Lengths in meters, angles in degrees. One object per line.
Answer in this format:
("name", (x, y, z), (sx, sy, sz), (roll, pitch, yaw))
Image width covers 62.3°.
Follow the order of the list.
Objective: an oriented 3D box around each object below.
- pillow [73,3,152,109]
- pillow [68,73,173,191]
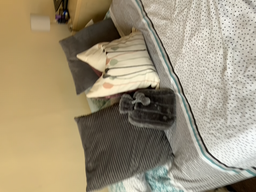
("pillow", (-0.090, -0.220, 1.260), (0.210, 0.410, 0.440), (-27, 52, 27))
("pillow", (-0.030, 0.240, 1.200), (0.250, 0.530, 0.500), (-26, 53, 29))
